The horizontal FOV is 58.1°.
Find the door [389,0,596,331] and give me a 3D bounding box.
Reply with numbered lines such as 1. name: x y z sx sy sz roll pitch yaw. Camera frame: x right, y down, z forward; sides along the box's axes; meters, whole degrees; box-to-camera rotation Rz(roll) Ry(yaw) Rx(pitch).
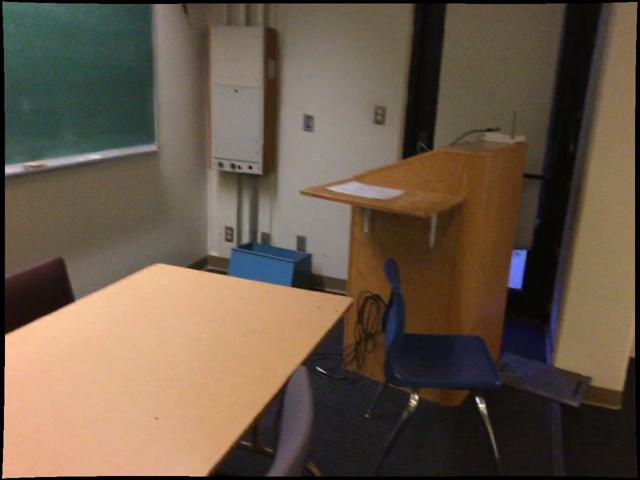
1. door: 0.987 -0.592 3.440 0.958 2.175 0.290 7 16 17
